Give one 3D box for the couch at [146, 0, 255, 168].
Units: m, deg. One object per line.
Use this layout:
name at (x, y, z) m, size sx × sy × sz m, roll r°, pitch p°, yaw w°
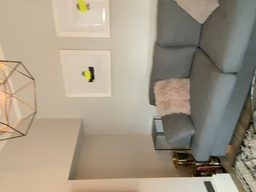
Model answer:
couch at (0.770, -0.460, 2.300) m, size 1.100 × 0.840 × 2.360 m, roll -95°, pitch 6°, yaw -58°
